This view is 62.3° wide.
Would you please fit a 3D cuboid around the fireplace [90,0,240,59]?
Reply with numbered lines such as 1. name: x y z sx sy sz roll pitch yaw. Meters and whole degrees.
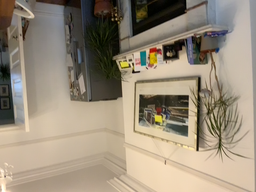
1. fireplace: 0.170 -1.100 2.180 0.520 1.220 1.680 -6 -176 -30
